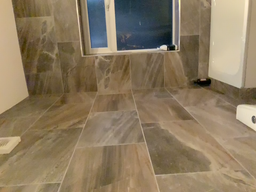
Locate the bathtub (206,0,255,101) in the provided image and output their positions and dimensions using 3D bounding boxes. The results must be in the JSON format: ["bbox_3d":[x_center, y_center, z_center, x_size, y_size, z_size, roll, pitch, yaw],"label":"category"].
[{"bbox_3d":[1.170,-0.910,1.990,0.680,0.540,1.770,-102,9,-75],"label":"bathtub"}]
